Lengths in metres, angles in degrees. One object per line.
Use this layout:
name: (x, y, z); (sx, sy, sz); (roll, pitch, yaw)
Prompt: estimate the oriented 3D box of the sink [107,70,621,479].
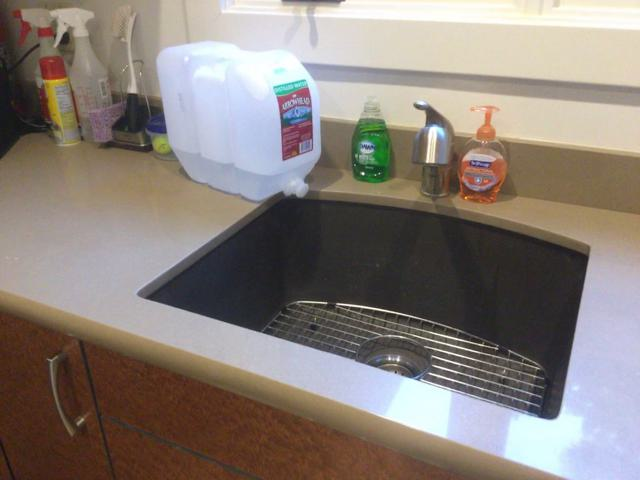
sink: (0.110, 0.050, 0.920); (0.560, 0.490, 0.540); (12, 29, 22)
